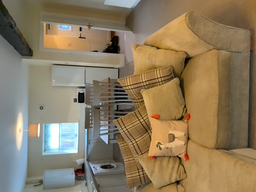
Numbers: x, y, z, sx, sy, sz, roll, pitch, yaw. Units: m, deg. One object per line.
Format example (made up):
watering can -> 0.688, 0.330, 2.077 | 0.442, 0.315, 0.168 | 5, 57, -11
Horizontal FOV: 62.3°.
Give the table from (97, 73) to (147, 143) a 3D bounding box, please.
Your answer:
table -> -0.150, 0.210, 4.250 | 0.860, 0.760, 1.240 | -176, 87, -72
